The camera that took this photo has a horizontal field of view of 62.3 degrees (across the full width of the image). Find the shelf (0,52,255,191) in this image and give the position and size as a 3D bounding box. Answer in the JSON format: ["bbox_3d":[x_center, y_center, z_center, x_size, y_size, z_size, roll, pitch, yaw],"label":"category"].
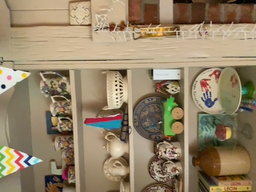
[{"bbox_3d":[0.320,0.430,1.310,0.460,2.090,1.310,-140,49,-86],"label":"shelf"}]
